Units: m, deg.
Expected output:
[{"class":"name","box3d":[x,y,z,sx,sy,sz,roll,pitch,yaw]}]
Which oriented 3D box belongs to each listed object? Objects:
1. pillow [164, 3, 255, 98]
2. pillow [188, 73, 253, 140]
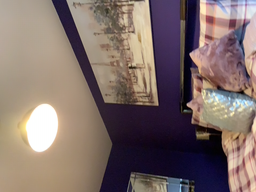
[{"class":"pillow","box3d":[0.570,-0.280,1.460,0.450,0.460,0.190,41,-142,-27]},{"class":"pillow","box3d":[0.670,0.100,1.530,0.460,0.350,0.170,60,-150,-37]}]
